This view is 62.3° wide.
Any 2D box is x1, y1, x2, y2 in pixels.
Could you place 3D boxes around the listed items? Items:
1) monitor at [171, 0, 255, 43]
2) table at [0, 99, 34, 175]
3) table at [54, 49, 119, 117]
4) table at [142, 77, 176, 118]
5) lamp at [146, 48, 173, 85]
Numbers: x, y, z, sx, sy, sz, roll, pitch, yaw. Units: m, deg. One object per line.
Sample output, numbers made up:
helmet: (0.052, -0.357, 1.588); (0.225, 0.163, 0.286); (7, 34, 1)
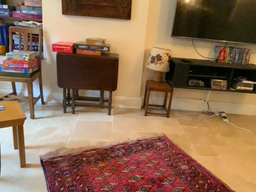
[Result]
monitor: (1.170, -1.010, 2.510); (1.220, 0.690, 0.050); (4, 19, -2)
table: (-0.980, 0.310, 1.600); (0.410, 0.430, 0.340); (-8, 24, -35)
table: (-0.490, -0.160, 2.580); (0.710, 0.720, 0.320); (4, 19, -5)
table: (0.390, 0.010, 2.770); (0.320, 0.410, 0.370); (4, 19, -5)
lamp: (0.380, -0.370, 2.640); (0.230, 0.390, 0.250); (3, 19, -7)
